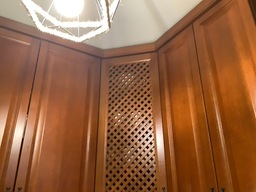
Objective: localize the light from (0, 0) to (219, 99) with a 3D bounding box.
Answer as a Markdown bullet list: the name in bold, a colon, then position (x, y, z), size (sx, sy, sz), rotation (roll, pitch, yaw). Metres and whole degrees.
- **light**: position (-0.180, -0.360, 0.840), size (0.590, 0.740, 0.450), rotation (-38, -134, 55)
